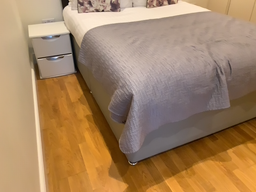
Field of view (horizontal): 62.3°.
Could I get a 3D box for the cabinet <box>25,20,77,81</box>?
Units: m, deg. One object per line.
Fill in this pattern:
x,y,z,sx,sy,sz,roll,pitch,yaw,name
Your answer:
-0.900,-0.550,2.490,0.420,0.510,0.480,-14,37,-19,cabinet
